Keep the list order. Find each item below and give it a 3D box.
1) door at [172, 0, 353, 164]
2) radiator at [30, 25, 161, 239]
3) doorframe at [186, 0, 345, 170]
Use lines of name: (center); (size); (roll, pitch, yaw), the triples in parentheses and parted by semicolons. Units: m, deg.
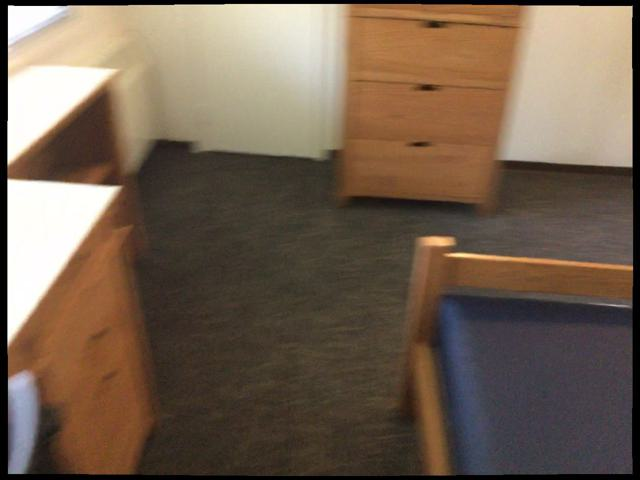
door: (-0.279, -1.022, 2.840); (0.848, 1.322, 0.100); (4, 33, 0)
radiator: (-0.958, -0.531, 2.630); (0.160, 0.641, 0.931); (4, 33, 0)
doorframe: (-0.269, -1.012, 2.860); (0.759, 1.382, 0.070); (4, 33, 0)
